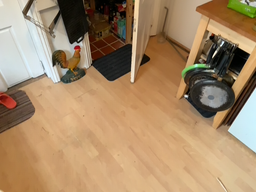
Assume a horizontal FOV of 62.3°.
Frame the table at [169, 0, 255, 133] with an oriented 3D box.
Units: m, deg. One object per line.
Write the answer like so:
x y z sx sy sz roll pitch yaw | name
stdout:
0.820 -0.290 1.650 0.670 0.820 0.530 -31 57 -26 | table
